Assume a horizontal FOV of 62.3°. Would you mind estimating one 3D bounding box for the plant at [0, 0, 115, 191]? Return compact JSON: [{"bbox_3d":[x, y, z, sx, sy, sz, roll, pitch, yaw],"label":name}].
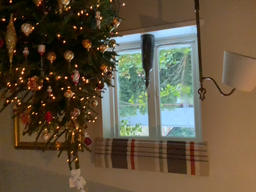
[{"bbox_3d":[-0.730,-0.460,1.530,0.940,1.870,0.920,-2,180,15],"label":"plant"}]
